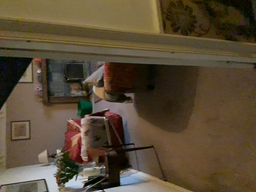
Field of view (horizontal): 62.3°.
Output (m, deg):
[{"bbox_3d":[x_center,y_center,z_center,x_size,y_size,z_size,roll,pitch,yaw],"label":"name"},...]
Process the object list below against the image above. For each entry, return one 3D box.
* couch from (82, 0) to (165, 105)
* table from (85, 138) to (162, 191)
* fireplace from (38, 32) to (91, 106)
[{"bbox_3d":[-0.130,-0.970,2.900,1.060,0.740,1.980,-157,68,-63],"label":"couch"},{"bbox_3d":[-0.120,0.900,3.020,0.960,0.730,0.500,158,108,-63],"label":"table"},{"bbox_3d":[-1.770,-0.690,5.810,0.750,1.180,1.790,153,113,-63],"label":"fireplace"}]
